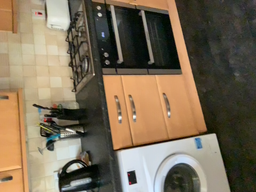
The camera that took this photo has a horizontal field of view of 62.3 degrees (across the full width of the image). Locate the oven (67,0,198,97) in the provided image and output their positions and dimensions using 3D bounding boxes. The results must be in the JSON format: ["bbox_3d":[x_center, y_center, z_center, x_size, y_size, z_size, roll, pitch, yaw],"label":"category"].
[{"bbox_3d":[0.010,-0.380,1.900,0.600,0.910,0.600,-30,67,58],"label":"oven"}]

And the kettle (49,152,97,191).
[{"bbox_3d":[-0.420,0.590,1.610,0.160,0.300,0.260,-33,64,57],"label":"kettle"}]
